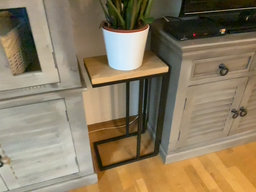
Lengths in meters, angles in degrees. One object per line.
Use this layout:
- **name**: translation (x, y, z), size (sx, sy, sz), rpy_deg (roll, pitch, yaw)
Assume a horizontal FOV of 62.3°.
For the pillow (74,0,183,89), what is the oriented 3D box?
- **pillow**: translation (-0.010, -0.470, 0.950), size (0.430, 0.780, 0.280), rpy_deg (-13, 38, -17)
